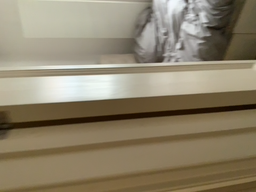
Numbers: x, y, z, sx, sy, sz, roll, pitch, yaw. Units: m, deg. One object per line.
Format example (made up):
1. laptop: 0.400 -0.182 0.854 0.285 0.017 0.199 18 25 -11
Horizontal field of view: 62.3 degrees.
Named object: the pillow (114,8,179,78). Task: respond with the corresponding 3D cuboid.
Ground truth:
1. pillow: 0.200 -0.720 2.800 0.240 0.470 0.910 25 -155 -43
